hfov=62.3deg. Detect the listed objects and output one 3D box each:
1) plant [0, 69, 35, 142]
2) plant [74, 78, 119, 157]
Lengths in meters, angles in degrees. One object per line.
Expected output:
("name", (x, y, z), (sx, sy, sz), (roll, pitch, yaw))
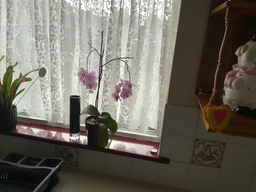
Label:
("plant", (-0.710, 0.050, 1.280), (0.200, 0.380, 0.170), (7, 17, 8))
("plant", (-0.170, 0.110, 1.160), (0.190, 0.370, 0.180), (7, 17, 6))
